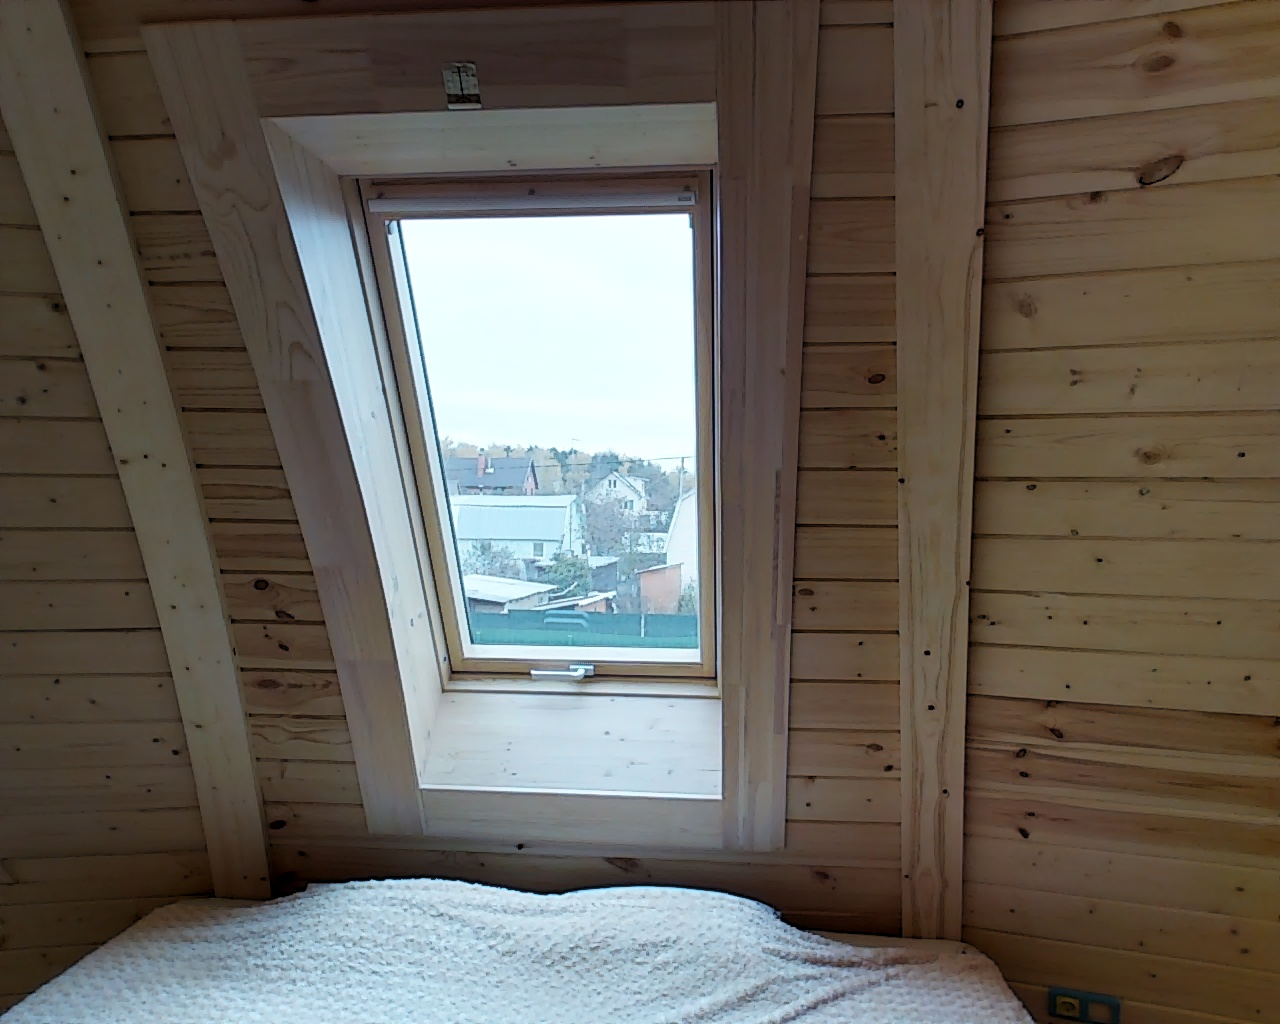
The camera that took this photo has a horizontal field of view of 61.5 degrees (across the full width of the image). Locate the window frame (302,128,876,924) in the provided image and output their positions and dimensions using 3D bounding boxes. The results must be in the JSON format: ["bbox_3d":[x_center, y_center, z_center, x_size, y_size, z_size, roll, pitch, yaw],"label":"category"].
[{"bbox_3d":[-0.160,-0.030,2.320,0.730,1.520,0.460,-20,-28,-1],"label":"window frame"}]
